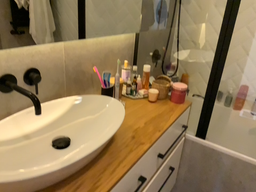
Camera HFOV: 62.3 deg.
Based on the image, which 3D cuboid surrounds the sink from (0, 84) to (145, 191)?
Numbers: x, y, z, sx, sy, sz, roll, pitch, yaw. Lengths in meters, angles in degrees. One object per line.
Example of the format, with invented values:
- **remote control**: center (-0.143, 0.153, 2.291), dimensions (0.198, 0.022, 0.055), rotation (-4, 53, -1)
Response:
- **sink**: center (-0.260, 0.140, 0.790), dimensions (0.370, 0.110, 0.650), rotation (19, 28, 28)
